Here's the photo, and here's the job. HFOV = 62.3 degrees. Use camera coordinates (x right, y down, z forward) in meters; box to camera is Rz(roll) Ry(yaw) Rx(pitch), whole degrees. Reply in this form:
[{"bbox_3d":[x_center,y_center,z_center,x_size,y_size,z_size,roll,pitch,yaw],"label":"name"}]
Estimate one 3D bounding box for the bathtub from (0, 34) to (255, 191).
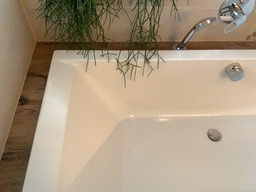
[{"bbox_3d":[0.550,0.220,1.150,2.040,0.620,0.910,0,53,-4],"label":"bathtub"}]
